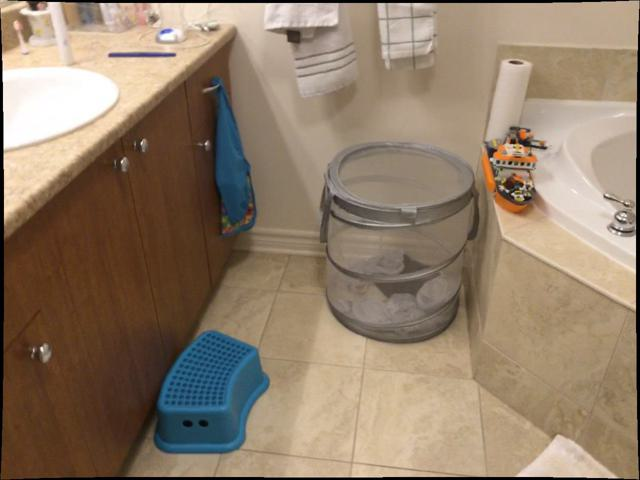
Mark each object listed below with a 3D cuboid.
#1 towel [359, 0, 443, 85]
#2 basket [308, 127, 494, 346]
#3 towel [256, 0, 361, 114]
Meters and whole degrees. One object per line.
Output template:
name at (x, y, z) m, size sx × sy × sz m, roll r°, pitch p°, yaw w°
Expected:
towel at (0.240, -0.681, 1.700) m, size 0.220 × 0.390 × 0.150 m, roll 5°, pitch 33°, yaw 5°
basket at (0.240, -0.030, 1.880) m, size 0.490 × 0.480 × 0.500 m, roll 5°, pitch 33°, yaw 5°
towel at (-0.030, -0.661, 1.740) m, size 0.290 × 0.500 × 0.170 m, roll 5°, pitch 33°, yaw 5°
